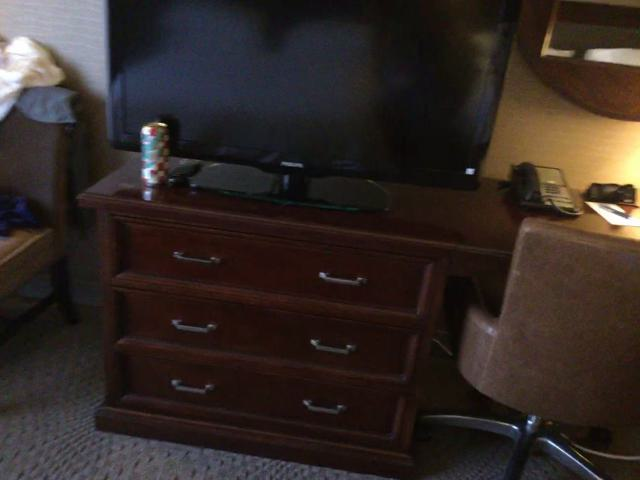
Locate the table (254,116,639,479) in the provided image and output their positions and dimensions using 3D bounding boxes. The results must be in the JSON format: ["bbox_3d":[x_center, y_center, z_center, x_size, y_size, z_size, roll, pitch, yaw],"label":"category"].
[{"bbox_3d":[0.980,0.250,1.780,2.180,0.860,0.900,7,22,2],"label":"table"}]
